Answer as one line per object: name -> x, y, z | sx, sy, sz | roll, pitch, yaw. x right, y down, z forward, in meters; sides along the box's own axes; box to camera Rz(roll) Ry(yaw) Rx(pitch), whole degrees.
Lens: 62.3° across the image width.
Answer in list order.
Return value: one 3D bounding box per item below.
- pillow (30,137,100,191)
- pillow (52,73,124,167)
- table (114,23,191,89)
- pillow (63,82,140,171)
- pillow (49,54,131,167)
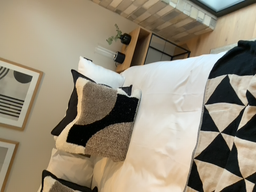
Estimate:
pillow -> -0.570, 0.800, 1.700 | 0.410, 0.370, 0.800 | -2, 71, 66
pillow -> -0.260, 0.160, 1.410 | 0.120, 0.300, 0.550 | 10, 82, 67
table -> 0.240, -0.360, 2.100 | 0.310, 0.600, 0.420 | 4, 77, 66
pillow -> -0.140, 0.190, 1.280 | 0.130, 0.370, 0.460 | 13, 87, 40
pillow -> -0.320, 0.100, 1.680 | 0.360, 0.360, 0.750 | 19, 90, 67
